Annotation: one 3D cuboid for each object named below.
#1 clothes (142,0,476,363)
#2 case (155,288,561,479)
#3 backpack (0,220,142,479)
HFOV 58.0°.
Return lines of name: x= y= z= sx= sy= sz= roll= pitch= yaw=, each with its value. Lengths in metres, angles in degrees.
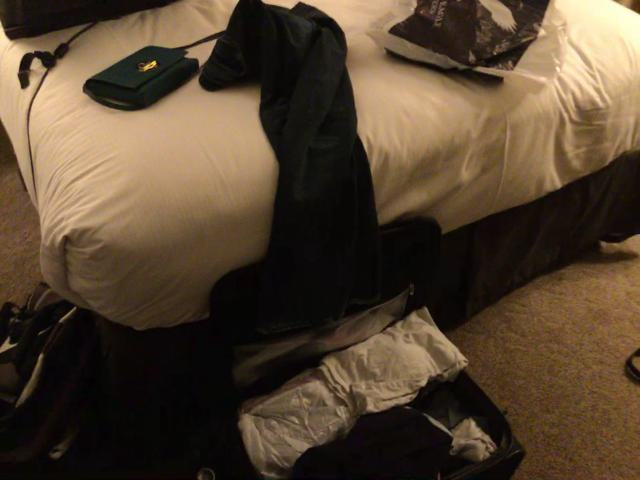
clothes: x=-0.070 y=-0.180 z=1.160 sx=0.360 sy=0.510 sz=0.560 roll=-17 pitch=46 yaw=-23
case: x=0.060 y=0.420 z=1.170 sx=0.640 sy=0.240 sz=0.430 roll=-17 pitch=46 yaw=-23
backpack: x=-0.690 y=0.290 z=1.210 sx=0.450 sy=0.320 sz=0.510 roll=-17 pitch=46 yaw=-23
